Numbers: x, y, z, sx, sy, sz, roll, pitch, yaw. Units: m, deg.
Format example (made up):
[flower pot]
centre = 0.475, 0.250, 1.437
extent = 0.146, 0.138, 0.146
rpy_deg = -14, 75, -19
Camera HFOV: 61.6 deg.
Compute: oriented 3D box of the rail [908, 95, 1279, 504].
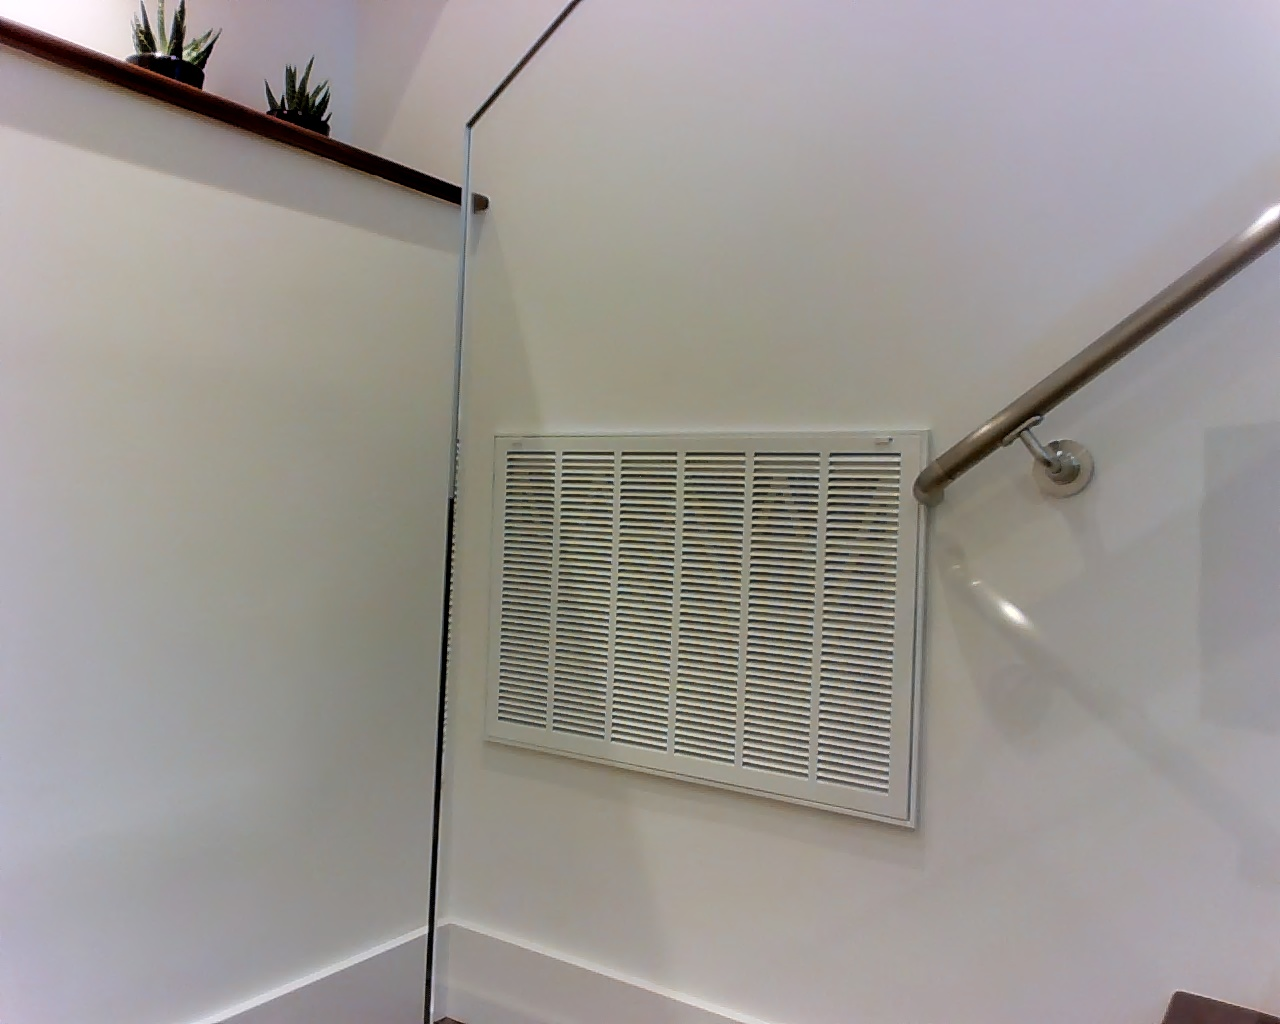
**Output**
[rail]
centre = 0.660, -0.250, 1.330
extent = 0.630, 0.470, 0.070
rpy_deg = 3, 1, 34
